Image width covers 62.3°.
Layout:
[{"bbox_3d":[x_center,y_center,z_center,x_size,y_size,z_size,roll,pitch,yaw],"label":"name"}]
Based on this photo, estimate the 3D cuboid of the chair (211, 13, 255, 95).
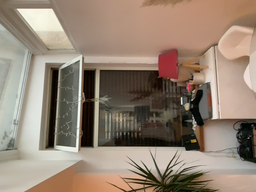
[{"bbox_3d":[1.190,-0.310,1.770,0.450,0.770,0.530,104,166,-78],"label":"chair"}]
